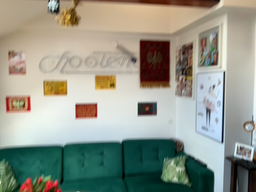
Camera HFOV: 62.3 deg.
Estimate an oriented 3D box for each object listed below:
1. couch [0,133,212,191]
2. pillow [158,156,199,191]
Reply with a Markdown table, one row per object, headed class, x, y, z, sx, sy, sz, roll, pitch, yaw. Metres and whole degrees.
| class | x | y | z | sx | sy | sz | roll | pitch | yaw |
| --- | --- | --- | --- | --- | --- | --- | --- | --- | --- |
| couch | -0.420 | 1.020 | 2.470 | 2.460 | 0.830 | 0.960 | -1 | 4 | -13 |
| pillow | 0.600 | 0.930 | 2.590 | 0.350 | 0.230 | 0.410 | 0 | 4 | -8 |
